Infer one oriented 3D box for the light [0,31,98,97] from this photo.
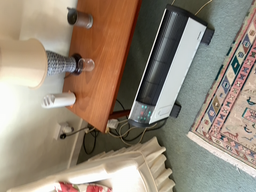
[{"bbox_3d":[-0.490,-0.190,1.250,0.240,0.560,0.270,28,111,33],"label":"light"}]
